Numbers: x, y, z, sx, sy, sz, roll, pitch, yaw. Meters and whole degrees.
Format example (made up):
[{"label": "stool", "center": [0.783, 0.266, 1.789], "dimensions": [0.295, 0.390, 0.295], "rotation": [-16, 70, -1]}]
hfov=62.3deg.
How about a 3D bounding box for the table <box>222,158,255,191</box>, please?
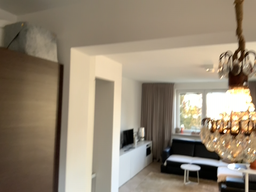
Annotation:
[{"label": "table", "center": [2.030, 1.570, 3.770], "dimensions": [0.630, 0.710, 0.630], "rotation": [0, -3, 21]}]
